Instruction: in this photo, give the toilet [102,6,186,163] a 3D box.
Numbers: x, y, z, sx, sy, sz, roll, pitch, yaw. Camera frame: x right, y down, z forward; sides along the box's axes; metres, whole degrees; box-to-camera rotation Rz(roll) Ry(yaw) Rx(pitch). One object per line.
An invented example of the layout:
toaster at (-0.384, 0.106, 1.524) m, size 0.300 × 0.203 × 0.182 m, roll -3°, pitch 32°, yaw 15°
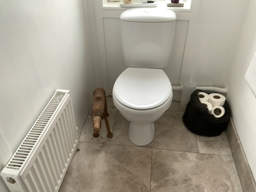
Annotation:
toilet at (0.100, -0.090, 1.400) m, size 0.360 × 0.780 × 0.650 m, roll 5°, pitch 37°, yaw 5°
